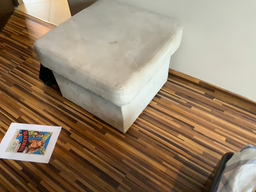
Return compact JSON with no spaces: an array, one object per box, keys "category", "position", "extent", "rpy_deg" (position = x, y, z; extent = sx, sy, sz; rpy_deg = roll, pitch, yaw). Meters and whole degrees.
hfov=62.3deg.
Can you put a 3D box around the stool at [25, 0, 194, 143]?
[{"category":"stool","position":[-0.070,-0.200,1.180],"extent":[0.590,0.430,0.560],"rpy_deg":[27,56,22]}]
